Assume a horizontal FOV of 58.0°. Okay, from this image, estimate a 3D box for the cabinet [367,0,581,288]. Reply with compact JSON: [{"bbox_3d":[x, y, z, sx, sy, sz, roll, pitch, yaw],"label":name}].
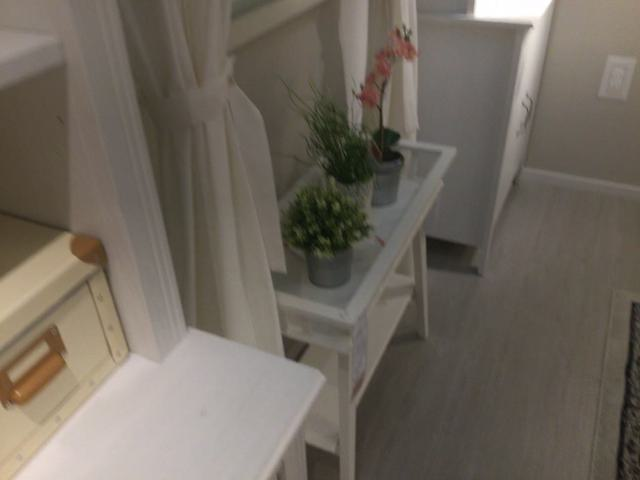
[{"bbox_3d":[0.580,-0.470,2.140,0.500,0.930,0.770,14,38,26],"label":"cabinet"}]
